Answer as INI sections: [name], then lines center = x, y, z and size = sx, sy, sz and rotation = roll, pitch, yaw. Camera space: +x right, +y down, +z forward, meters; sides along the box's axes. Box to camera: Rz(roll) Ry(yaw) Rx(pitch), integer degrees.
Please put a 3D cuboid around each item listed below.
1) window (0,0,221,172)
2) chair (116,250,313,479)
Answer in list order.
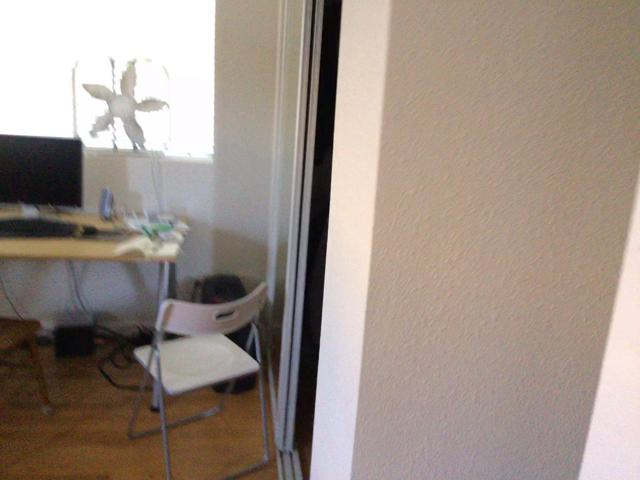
[window]
center = -1.450, -0.980, 3.030
size = 1.780, 1.040, 0.390
rotation = 4, 14, -11
[chair]
center = -0.450, 0.490, 2.360
size = 0.550, 0.750, 0.540
rotation = -4, 17, -39
